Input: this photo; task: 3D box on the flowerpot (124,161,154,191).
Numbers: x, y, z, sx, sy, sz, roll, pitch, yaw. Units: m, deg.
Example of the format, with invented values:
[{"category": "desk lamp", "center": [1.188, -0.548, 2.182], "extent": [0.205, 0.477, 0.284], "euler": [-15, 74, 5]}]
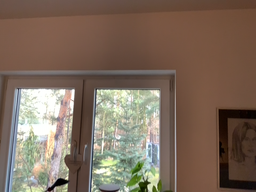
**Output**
[{"category": "flowerpot", "center": [0.080, 0.700, 1.480], "extent": [0.190, 0.430, 0.220], "euler": [1, -7, 8]}]
